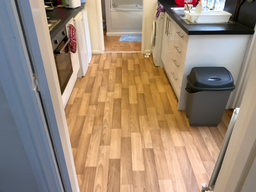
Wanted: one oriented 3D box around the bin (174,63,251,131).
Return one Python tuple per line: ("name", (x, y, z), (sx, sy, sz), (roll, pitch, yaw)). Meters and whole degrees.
("bin", (0.820, 0.010, 2.190), (0.540, 0.590, 0.340), (-2, 32, -4))
